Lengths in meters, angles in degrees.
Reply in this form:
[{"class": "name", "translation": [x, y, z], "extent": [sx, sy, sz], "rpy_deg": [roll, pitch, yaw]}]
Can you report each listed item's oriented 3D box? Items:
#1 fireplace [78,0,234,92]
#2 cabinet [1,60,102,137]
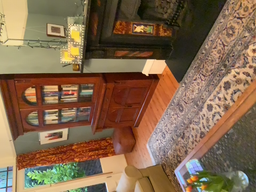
[{"class": "fireplace", "translation": [0.200, -0.870, 2.200], "extent": [1.480, 1.180, 0.800], "rpy_deg": [110, 148, -44]}, {"class": "cabinet", "translation": [-1.110, 0.060, 3.190], "extent": [1.230, 1.200, 0.350], "rpy_deg": [110, 148, -44]}]
